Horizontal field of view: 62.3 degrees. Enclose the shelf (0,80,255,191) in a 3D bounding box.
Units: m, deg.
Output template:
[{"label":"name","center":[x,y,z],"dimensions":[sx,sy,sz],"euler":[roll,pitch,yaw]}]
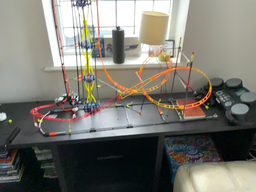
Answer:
[{"label":"shelf","center":[-0.040,0.340,1.540],"dimensions":[2.110,0.680,0.480],"euler":[-3,33,-6]}]
